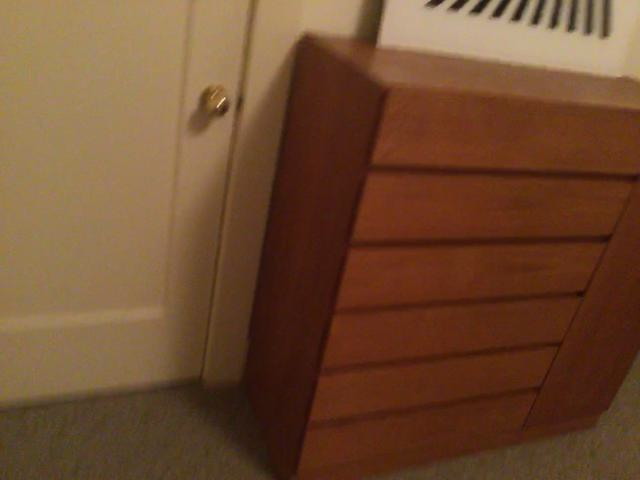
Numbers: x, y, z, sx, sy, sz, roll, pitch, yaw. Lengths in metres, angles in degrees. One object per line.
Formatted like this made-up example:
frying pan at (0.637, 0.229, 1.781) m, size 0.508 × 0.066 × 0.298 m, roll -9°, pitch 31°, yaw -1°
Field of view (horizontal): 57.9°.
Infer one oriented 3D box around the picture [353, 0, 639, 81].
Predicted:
picture at (0.540, -0.780, 1.420) m, size 0.850 × 0.700 × 0.120 m, roll -3°, pitch 26°, yaw -22°
